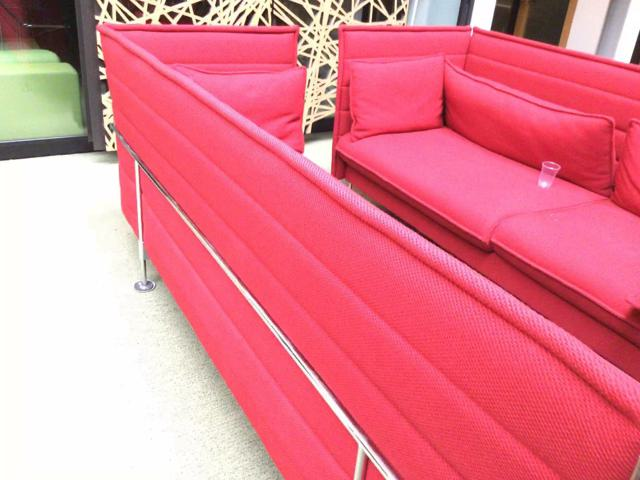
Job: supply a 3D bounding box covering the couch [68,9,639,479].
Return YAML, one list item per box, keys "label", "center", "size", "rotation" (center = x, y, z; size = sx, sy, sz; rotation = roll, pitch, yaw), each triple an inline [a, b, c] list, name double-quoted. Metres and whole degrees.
- label: "couch"
  center: [0.060, -0.060, 1.740]
  size: [0.960, 1.060, 2.430]
  rotation: [-15, 28, -27]

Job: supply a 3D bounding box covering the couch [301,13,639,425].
- label: "couch"
  center: [0.980, -0.290, 2.300]
  size: [1.000, 1.010, 2.480]
  rotation: [-15, 28, -27]
